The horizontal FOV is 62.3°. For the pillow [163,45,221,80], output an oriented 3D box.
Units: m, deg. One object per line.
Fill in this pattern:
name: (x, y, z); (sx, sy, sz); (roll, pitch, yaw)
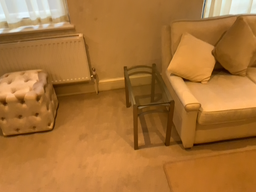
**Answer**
pillow: (0.560, -0.280, 1.820); (0.420, 0.420, 0.100); (21, 95, 23)

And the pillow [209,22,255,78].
pillow: (0.990, -0.410, 1.890); (0.170, 0.360, 0.420); (48, 133, -1)
